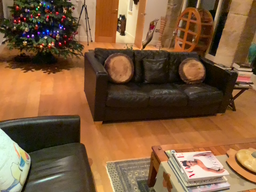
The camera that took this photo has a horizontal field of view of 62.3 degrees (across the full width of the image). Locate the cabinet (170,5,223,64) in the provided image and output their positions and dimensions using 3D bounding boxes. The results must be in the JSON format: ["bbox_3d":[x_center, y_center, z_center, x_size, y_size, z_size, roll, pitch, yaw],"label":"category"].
[{"bbox_3d":[1.750,-1.670,5.710,0.510,1.290,1.220,-1,27,-18],"label":"cabinet"}]
